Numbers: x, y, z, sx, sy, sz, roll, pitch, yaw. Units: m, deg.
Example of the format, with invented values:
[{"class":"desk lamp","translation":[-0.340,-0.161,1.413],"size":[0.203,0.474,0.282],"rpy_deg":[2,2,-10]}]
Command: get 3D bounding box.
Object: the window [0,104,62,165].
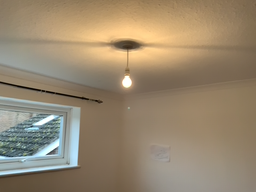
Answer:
[{"class":"window","translation":[-1.440,0.390,2.180],"size":[0.070,0.640,1.690],"rpy_deg":[-7,-13,37]}]
